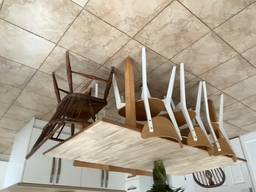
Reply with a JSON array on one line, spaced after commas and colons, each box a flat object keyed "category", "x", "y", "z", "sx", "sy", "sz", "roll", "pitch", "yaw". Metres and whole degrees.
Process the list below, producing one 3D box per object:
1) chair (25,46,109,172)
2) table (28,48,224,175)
[{"category": "chair", "x": -0.500, "y": 0.130, "z": 1.860, "sx": 0.450, "sy": 0.910, "sz": 0.480, "roll": 20, "pitch": 144, "yaw": -33}, {"category": "table", "x": 0.060, "y": 0.400, "z": 2.530, "sx": 1.950, "sy": 0.740, "sz": 1.050, "roll": 21, "pitch": 144, "yaw": -34}]
